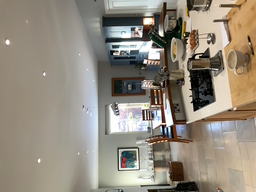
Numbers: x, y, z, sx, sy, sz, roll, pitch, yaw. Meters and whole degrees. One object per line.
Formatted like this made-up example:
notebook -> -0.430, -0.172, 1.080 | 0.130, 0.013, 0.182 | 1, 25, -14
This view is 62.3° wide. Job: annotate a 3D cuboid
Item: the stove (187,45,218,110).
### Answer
stove -> 0.740, -0.150, 2.170 | 0.650, 0.030, 0.490 | 93, 175, -77
